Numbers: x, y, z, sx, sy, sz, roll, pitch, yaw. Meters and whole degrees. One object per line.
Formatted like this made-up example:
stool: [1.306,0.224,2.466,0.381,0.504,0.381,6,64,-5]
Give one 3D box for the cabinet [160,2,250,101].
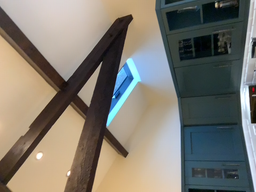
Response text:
cabinet: [0.930,-0.440,2.620,1.170,0.830,0.360,61,-149,-49]
